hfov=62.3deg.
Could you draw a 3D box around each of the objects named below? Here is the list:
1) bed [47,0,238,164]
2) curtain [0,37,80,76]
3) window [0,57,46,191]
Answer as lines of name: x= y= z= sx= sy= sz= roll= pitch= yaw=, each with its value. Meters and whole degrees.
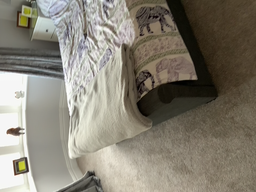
bed: x=-0.230 y=-0.650 z=2.080 sx=1.620 sy=0.470 sz=2.270 roll=-35 pitch=63 yaw=49
curtain: x=-1.800 y=-0.530 z=2.650 sx=0.190 sy=2.390 sz=0.420 roll=-41 pitch=58 yaw=46
window: x=-2.090 y=0.550 z=2.780 sx=0.670 sy=1.640 sz=2.080 roll=-29 pitch=68 yaw=50
